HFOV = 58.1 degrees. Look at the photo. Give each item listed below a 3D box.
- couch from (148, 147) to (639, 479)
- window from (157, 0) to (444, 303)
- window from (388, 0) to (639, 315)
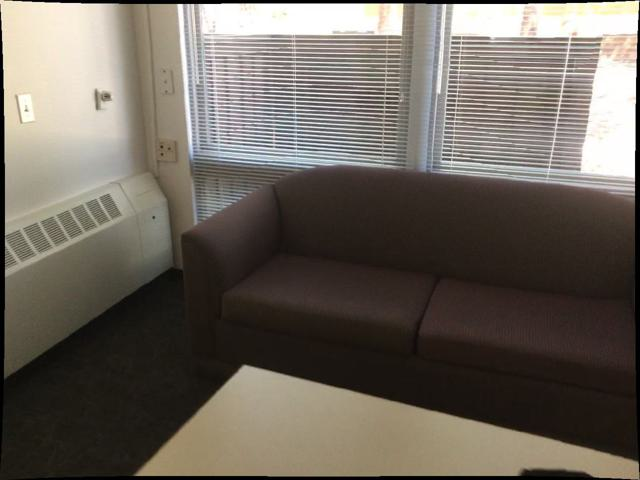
[{"bbox_3d":[0.419,0.170,2.360,1.838,0.761,1.040,9,23,23],"label":"couch"},{"bbox_3d":[-0.110,-0.761,2.730,1.278,1.953,0.330,9,23,23],"label":"window"},{"bbox_3d":[0.998,-0.601,2.500,1.278,1.682,0.410,9,23,23],"label":"window"}]
